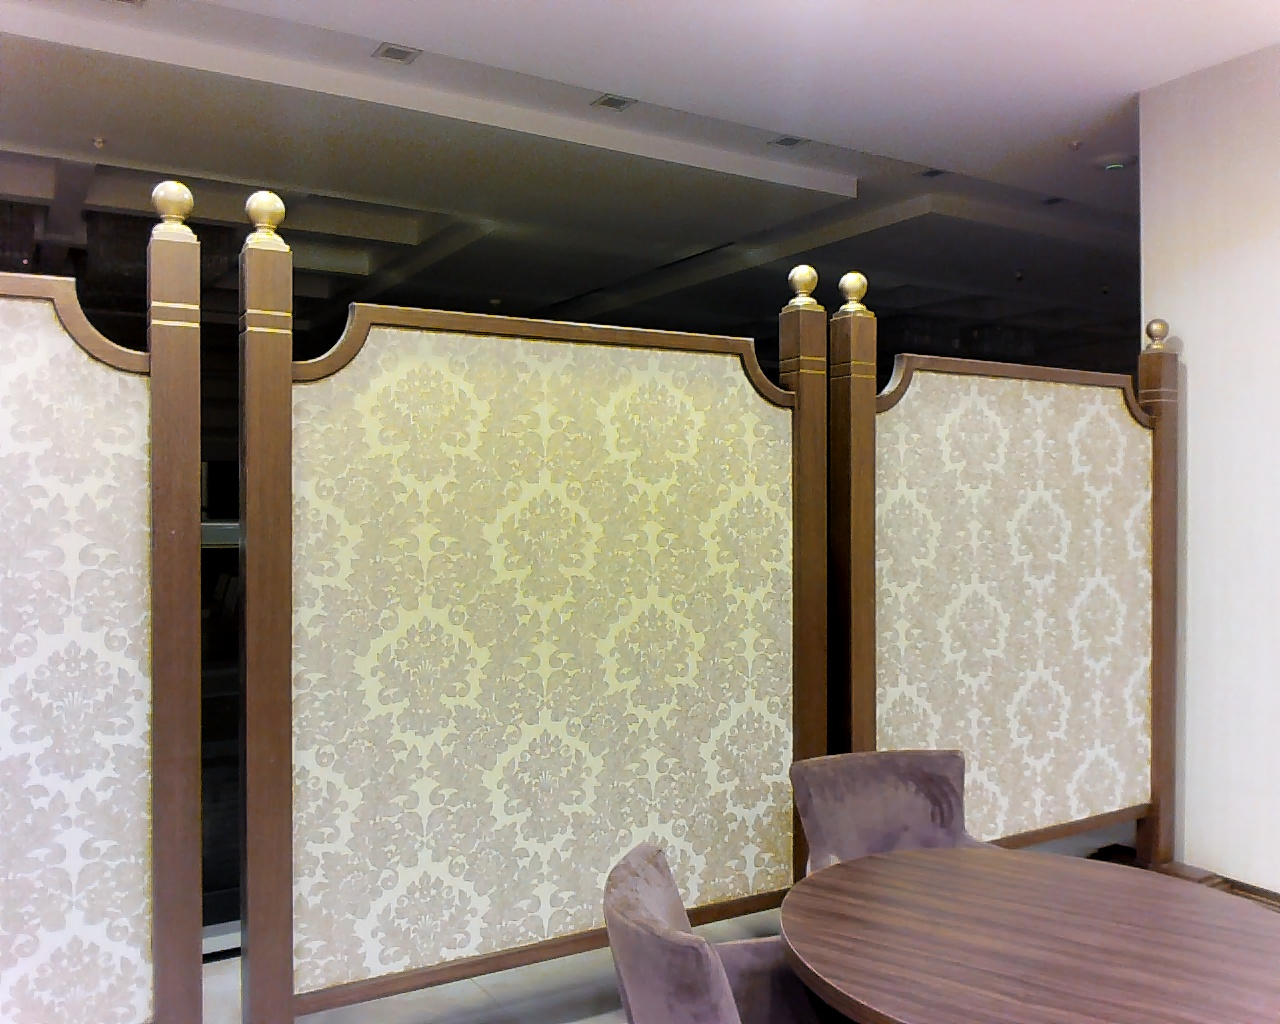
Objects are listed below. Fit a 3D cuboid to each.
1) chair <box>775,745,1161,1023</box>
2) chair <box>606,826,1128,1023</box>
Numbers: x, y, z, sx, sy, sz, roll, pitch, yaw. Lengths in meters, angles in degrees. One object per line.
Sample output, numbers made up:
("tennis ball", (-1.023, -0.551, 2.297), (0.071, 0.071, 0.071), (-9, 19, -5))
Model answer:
("chair", (0.740, 1.090, 2.610), (0.640, 0.870, 0.740), (0, 0, -9))
("chair", (0.340, 1.120, 1.910), (0.710, 0.900, 0.660), (0, 0, -10))
